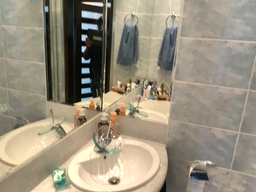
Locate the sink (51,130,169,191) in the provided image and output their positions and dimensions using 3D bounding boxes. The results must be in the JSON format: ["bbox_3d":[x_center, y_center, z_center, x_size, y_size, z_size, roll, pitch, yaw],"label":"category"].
[{"bbox_3d":[-0.060,0.430,1.190,0.470,0.190,0.520,10,17,19],"label":"sink"}]
